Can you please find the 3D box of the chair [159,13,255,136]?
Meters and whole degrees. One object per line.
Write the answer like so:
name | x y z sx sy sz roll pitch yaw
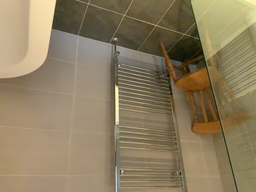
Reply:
chair | 0.690 -0.150 1.910 0.520 0.830 0.550 -21 149 33
